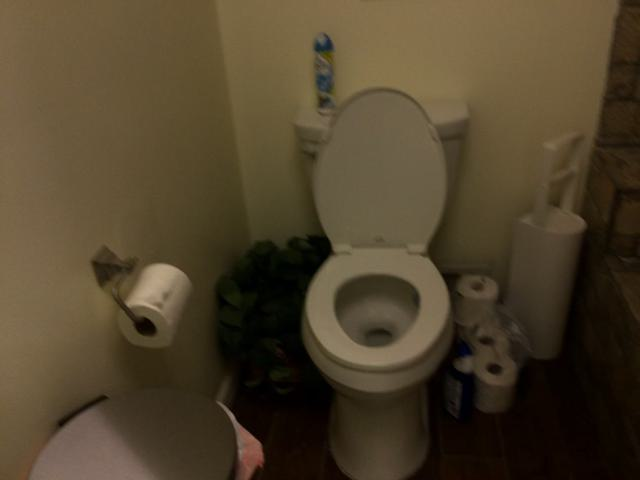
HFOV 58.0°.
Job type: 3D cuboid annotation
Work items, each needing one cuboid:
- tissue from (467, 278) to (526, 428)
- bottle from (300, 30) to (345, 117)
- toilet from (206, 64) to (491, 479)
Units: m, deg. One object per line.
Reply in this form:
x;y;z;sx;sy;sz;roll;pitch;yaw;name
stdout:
0.490;0.310;1.640;0.120;0.270;0.320;0;30;11;tissue
0.010;-0.460;1.600;0.090;0.210;0.090;0;30;11;bottle
0.140;0.080;1.530;0.500;0.870;0.740;0;30;11;toilet
